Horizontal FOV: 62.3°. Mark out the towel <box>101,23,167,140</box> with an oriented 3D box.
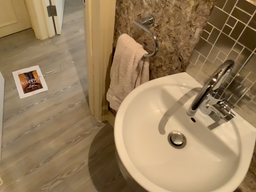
[{"bbox_3d":[-0.010,-0.030,1.040,0.130,0.570,0.230,-29,63,-27],"label":"towel"}]
